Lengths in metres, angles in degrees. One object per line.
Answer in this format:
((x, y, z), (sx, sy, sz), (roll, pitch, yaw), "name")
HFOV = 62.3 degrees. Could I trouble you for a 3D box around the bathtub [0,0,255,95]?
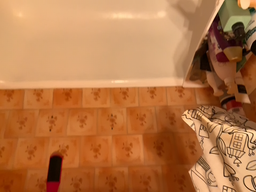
((-0.110, -0.440, 0.960), (1.400, 0.570, 0.690), (-2, 151, 0), "bathtub")
